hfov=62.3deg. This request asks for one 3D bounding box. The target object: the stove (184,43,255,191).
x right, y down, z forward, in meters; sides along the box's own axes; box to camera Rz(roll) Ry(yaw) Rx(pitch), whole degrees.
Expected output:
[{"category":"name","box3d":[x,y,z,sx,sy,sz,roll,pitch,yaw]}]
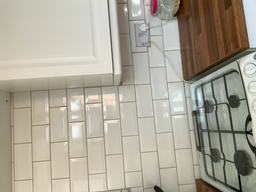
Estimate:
[{"category":"stove","box3d":[0.440,0.150,0.960,0.650,0.090,0.570,126,140,-82]}]
